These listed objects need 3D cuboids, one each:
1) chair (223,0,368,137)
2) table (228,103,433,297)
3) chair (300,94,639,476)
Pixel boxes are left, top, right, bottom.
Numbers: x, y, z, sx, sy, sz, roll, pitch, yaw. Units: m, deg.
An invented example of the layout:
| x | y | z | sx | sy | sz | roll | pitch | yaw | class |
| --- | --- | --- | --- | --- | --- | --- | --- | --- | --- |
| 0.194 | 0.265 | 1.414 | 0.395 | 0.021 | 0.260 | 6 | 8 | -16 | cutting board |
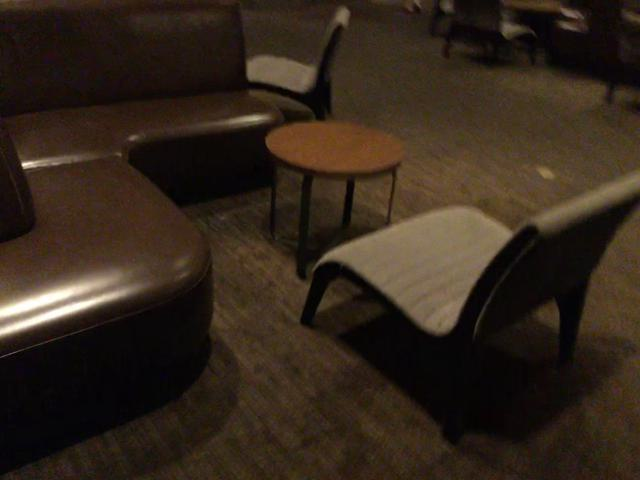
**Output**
| x | y | z | sx | sy | sz | roll | pitch | yaw | class |
| --- | --- | --- | --- | --- | --- | --- | --- | --- | --- |
| -0.120 | -1.190 | 3.820 | 0.810 | 0.780 | 0.800 | 3 | 26 | 5 | chair |
| 0.020 | -0.200 | 2.390 | 0.580 | 0.490 | 0.560 | -19 | 39 | -33 | table |
| 0.460 | 0.070 | 1.850 | 0.710 | 0.800 | 0.710 | -18 | 38 | -34 | chair |
